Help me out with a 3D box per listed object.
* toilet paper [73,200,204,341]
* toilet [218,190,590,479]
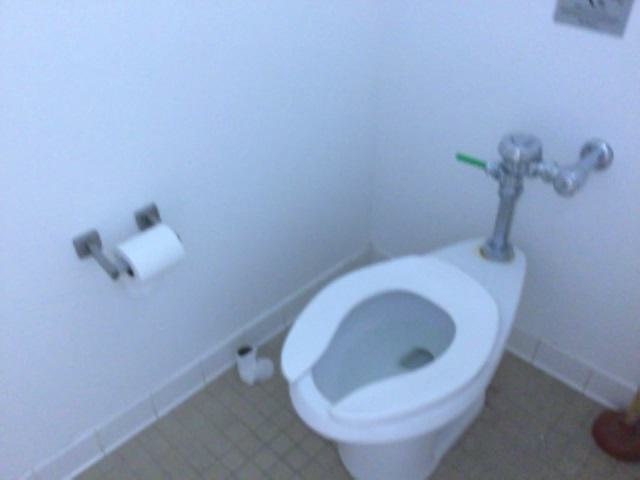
[{"bbox_3d":[-0.370,0.060,1.200,0.150,0.190,0.170,30,48,34],"label":"toilet paper"},{"bbox_3d":[0.210,0.300,1.360,0.430,0.460,0.720,30,48,34],"label":"toilet"}]
